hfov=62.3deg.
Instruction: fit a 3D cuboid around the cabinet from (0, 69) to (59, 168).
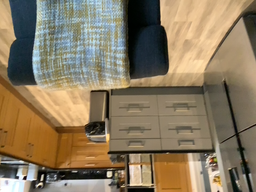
[{"bbox_3d":[-1.760,0.520,3.220,0.610,0.890,2.460,-1,157,-1],"label":"cabinet"}]
